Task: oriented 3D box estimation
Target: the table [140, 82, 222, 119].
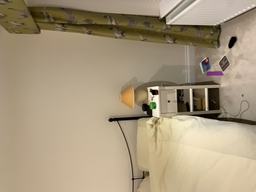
[{"bbox_3d":[0.630,0.040,2.650,0.570,0.810,0.380,180,89,-75],"label":"table"}]
